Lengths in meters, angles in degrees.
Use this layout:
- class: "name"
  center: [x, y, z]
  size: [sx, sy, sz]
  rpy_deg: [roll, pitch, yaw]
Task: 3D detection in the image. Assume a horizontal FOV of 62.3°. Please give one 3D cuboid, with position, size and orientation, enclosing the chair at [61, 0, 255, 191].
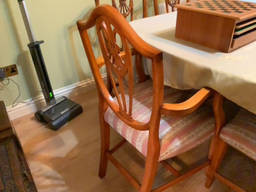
- class: "chair"
  center: [0.100, 0.050, 1.050]
  size: [0.490, 0.950, 0.540]
  rpy_deg: [-24, 40, -30]
